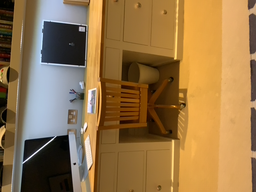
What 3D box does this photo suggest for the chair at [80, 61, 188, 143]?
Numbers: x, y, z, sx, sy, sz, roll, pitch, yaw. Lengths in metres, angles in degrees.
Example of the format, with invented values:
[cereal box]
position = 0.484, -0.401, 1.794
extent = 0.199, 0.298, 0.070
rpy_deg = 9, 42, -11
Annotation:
[chair]
position = 0.020, 0.080, 2.080
extent = 0.710, 0.810, 0.610
rpy_deg = 174, 99, -66
